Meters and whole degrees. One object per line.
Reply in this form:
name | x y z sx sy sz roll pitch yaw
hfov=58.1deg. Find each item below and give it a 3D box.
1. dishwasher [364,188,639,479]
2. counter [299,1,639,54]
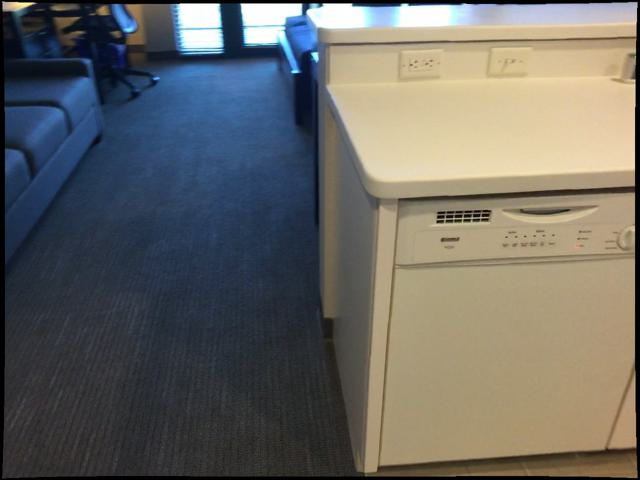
dishwasher | 0.439 0.261 1.330 0.648 0.782 0.050 -4 30 -7
counter | 0.888 -0.672 1.770 1.875 0.060 0.370 -4 30 -7
